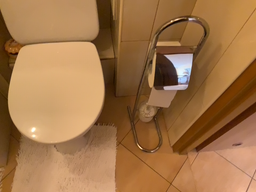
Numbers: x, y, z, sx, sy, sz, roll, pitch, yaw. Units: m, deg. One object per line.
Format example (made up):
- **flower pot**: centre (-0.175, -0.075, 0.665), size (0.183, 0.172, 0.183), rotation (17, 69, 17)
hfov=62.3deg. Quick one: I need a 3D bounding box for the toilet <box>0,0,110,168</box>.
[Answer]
- **toilet**: centre (-0.300, -0.130, 0.900), size (0.370, 0.770, 0.670), rotation (-5, 62, -8)
